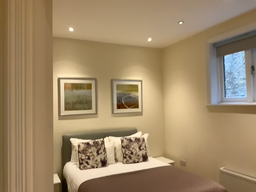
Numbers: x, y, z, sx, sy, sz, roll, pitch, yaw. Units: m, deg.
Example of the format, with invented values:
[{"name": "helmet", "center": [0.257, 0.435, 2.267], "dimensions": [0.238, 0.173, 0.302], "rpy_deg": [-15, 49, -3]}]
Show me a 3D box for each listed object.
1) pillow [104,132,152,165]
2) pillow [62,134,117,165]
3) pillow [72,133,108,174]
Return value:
[{"name": "pillow", "center": [-0.020, 0.840, 3.520], "dimensions": [0.600, 0.370, 0.570], "rpy_deg": [0, -2, -26]}, {"name": "pillow", "center": [-0.600, 0.800, 3.270], "dimensions": [0.720, 0.300, 0.500], "rpy_deg": [0, -2, -25]}, {"name": "pillow", "center": [-0.530, 0.810, 3.010], "dimensions": [0.430, 0.390, 0.110], "rpy_deg": [-23, 22, -32]}]
